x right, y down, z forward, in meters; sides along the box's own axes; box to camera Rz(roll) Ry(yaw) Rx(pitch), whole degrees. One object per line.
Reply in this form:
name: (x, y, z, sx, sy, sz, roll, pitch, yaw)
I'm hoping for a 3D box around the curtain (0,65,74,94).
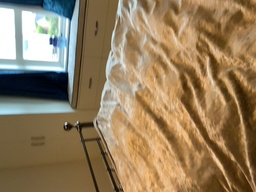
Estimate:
curtain: (-1.700, -0.240, 3.040, 0.370, 1.750, 0.250, -122, 39, -49)
